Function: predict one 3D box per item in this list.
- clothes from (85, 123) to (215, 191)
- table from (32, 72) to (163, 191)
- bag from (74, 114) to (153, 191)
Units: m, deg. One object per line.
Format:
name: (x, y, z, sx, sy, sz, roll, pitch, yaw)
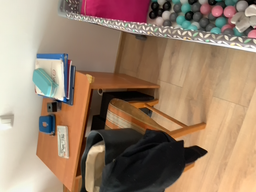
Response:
clothes: (0.080, 0.360, 0.820, 0.280, 0.390, 0.390, 19, 104, 39)
table: (-0.210, 0.180, 1.570, 0.490, 0.730, 0.570, 23, 107, 38)
bag: (-0.070, 0.280, 1.070, 0.210, 0.290, 0.300, 19, 104, 39)
